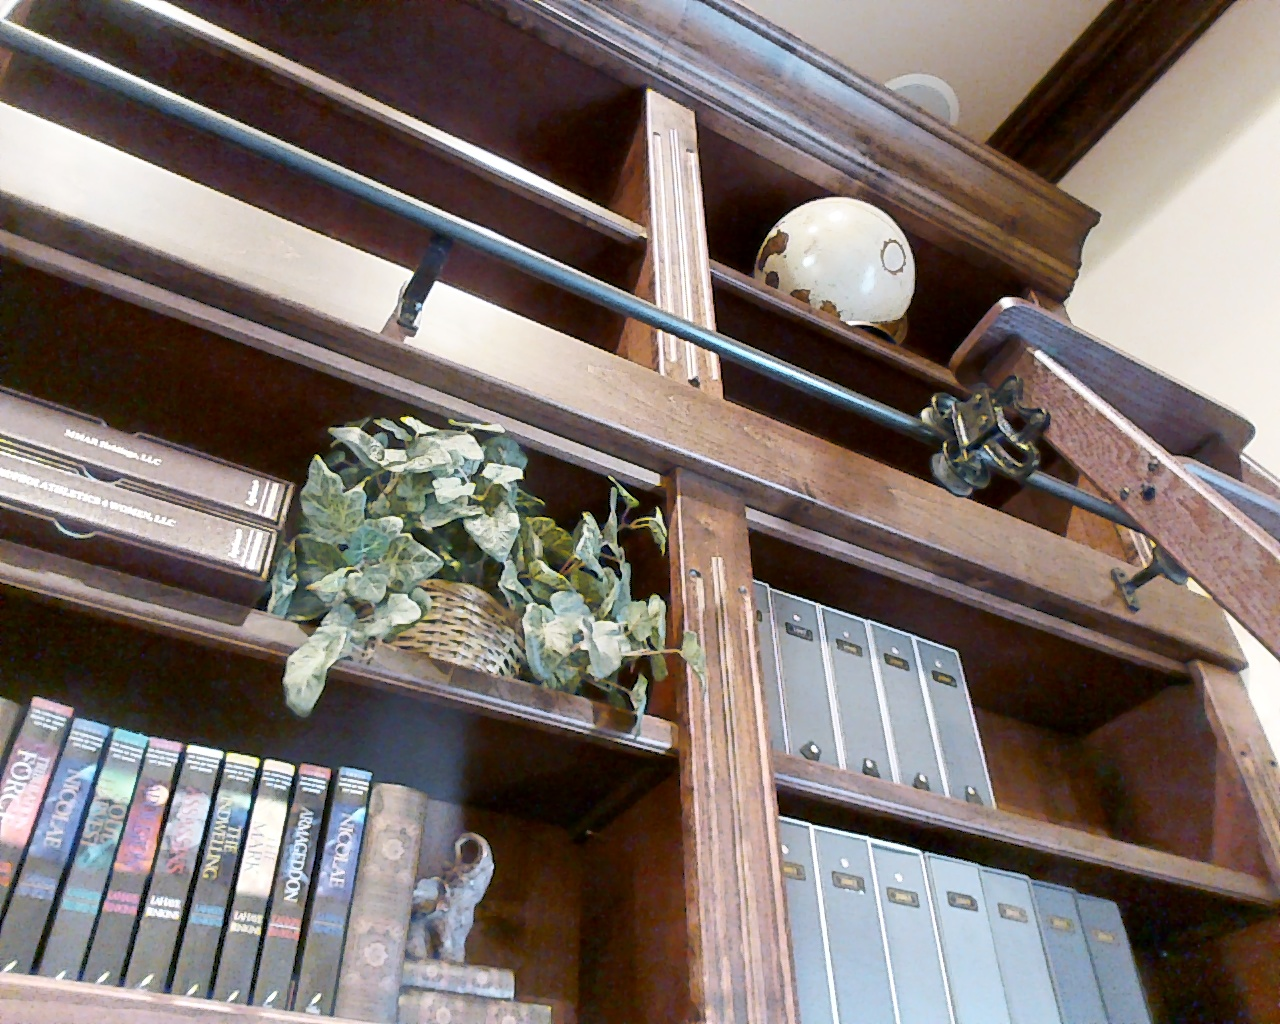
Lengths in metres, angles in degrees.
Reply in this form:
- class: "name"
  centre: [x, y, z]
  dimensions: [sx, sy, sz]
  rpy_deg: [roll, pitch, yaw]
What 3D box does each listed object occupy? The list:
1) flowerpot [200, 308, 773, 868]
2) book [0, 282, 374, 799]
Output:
- class: "flowerpot"
  centre: [-0.160, 0.100, 1.140]
  dimensions: [0.450, 0.370, 0.340]
  rpy_deg: [18, -45, -21]
- class: "book"
  centre: [-0.490, 0.030, 0.960]
  dimensions: [0.390, 0.290, 0.270]
  rpy_deg: [18, -45, -21]
